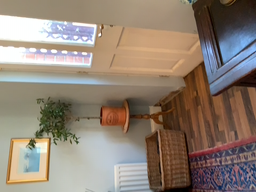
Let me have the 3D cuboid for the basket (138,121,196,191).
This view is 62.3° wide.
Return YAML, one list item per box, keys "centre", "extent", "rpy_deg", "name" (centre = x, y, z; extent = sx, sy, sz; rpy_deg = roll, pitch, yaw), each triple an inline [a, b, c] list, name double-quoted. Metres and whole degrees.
- centre: [0.380, 0.660, 2.320]
  extent: [0.610, 0.330, 0.640]
  rpy_deg: [127, 141, -66]
  name: "basket"
